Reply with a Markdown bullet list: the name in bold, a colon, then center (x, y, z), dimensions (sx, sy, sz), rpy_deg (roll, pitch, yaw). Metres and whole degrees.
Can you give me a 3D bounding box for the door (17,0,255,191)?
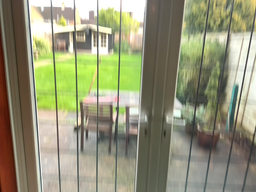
- **door**: center (0.170, 0.130, 1.400), dimensions (1.640, 2.010, 0.090), rpy_deg (3, 15, 1)
